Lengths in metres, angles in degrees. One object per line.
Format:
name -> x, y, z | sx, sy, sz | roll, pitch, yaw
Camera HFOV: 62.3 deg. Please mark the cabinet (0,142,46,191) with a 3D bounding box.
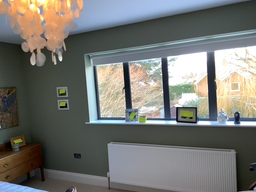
cabinet -> -1.950, 1.250, 3.500 | 0.500, 0.690, 1.020 | -2, 4, 22
